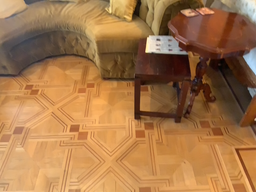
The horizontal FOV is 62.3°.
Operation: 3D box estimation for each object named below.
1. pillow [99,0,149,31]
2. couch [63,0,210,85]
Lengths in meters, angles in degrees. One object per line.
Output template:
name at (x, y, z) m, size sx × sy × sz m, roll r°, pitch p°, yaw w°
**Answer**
pillow at (-0.040, -0.880, 2.010) m, size 0.390 × 0.340 × 0.270 m, roll 28°, pitch 51°, yaw 26°
couch at (0.060, -0.490, 1.800) m, size 1.000 × 0.760 × 0.300 m, roll 1°, pitch 44°, yaw 2°
